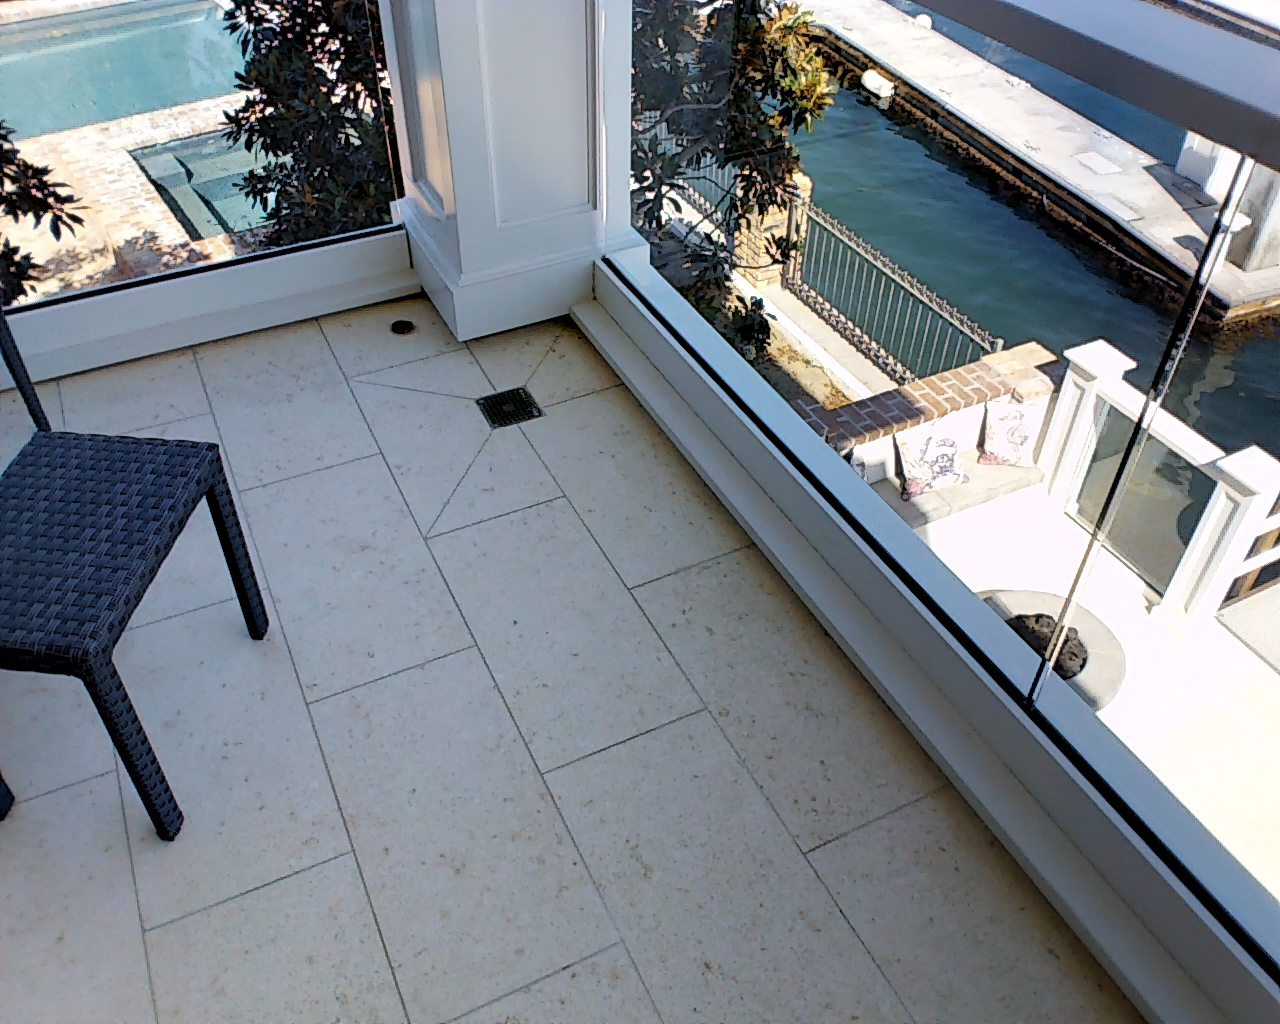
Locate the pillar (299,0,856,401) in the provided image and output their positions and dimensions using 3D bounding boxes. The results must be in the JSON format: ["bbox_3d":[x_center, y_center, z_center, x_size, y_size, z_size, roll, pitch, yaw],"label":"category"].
[{"bbox_3d":[-0.120,-1.290,2.030,1.020,2.210,0.560,-1,41,-2],"label":"pillar"}]
